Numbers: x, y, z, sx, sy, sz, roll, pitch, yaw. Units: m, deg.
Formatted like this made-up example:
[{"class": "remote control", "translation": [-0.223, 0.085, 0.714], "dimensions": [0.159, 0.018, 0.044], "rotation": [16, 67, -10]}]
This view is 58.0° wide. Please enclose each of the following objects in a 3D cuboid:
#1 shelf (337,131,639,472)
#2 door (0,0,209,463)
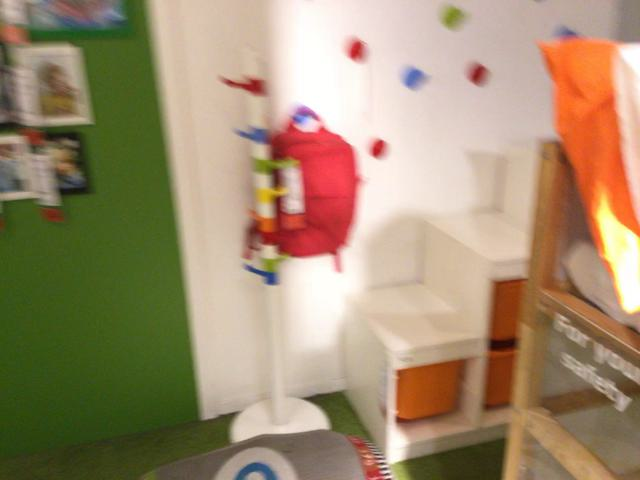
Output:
[{"class": "shelf", "translation": [0.650, 0.160, 2.050], "dimensions": [1.070, 0.920, 0.490], "rotation": [-8, 23, -17]}, {"class": "door", "translation": [-0.840, -0.190, 1.670], "dimensions": [0.860, 1.860, 0.140], "rotation": [-8, 23, -17]}]
